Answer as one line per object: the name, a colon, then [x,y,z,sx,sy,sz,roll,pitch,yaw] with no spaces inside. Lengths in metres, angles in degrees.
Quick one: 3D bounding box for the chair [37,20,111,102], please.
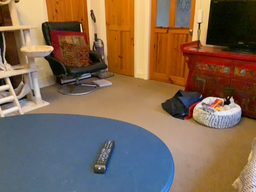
chair: [-0.740,-0.550,2.980,0.640,0.950,0.770,-18,28,-38]
